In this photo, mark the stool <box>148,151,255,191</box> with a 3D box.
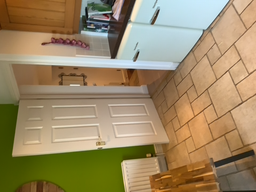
[{"bbox_3d":[0.650,0.840,2.030,1.120,0.470,0.360,125,140,-60],"label":"stool"}]
